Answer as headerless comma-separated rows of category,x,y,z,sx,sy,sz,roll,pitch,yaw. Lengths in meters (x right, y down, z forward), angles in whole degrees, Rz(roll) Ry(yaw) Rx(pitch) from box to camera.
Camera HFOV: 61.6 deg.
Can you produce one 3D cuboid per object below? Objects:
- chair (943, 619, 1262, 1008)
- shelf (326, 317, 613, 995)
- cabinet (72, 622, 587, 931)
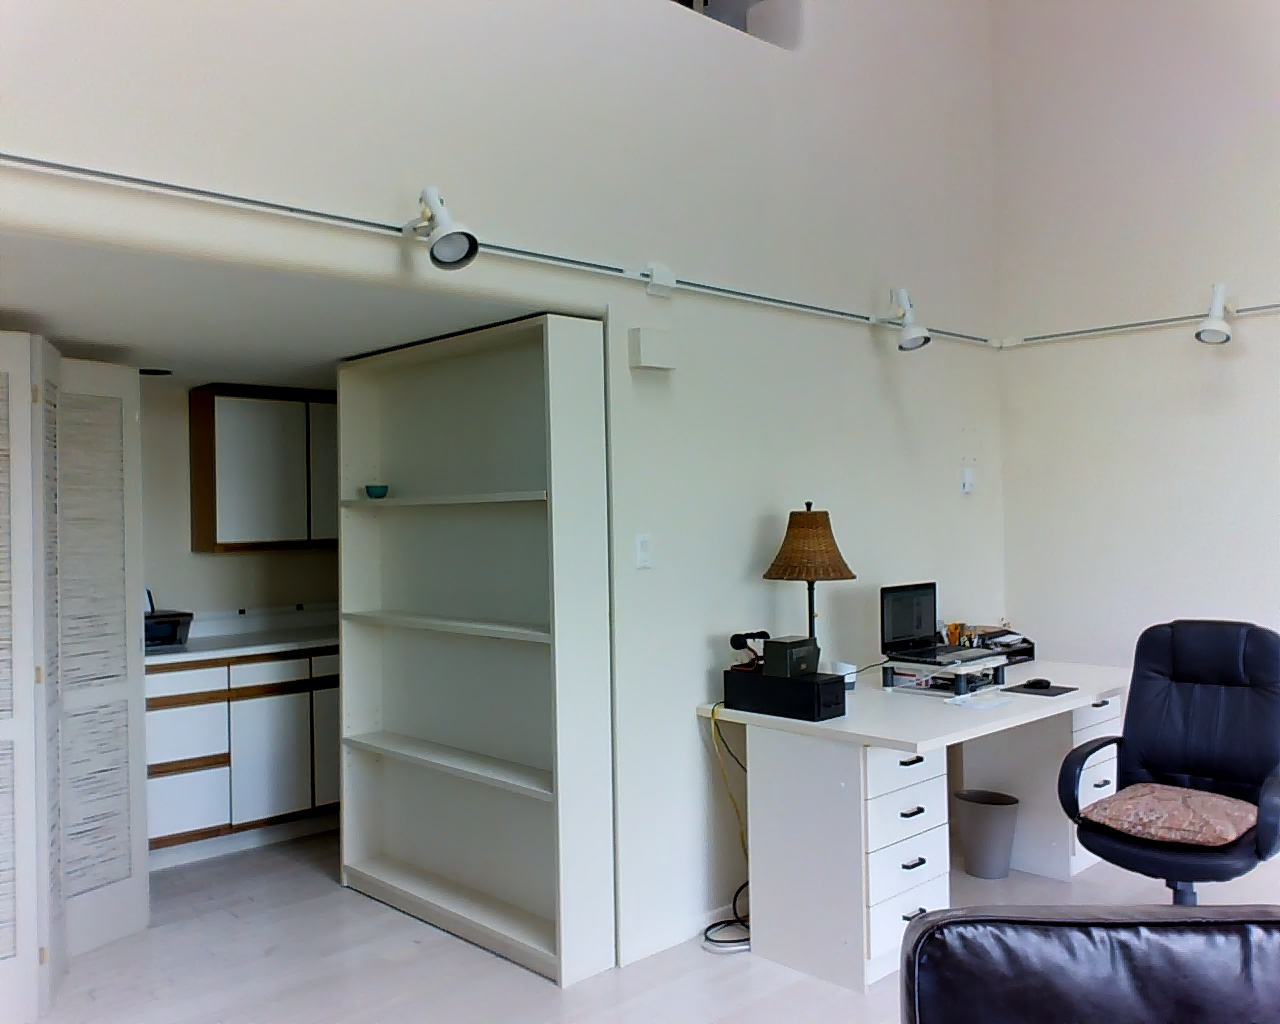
chair,1.549,0.920,3.610,0.690,1.030,0.760,0,-1,-44
shelf,-0.680,0.450,3.890,0.230,2.071,1.450,0,-1,-43
cabinet,-1.400,1.060,4.970,1.900,0.900,1.300,0,-1,-43
